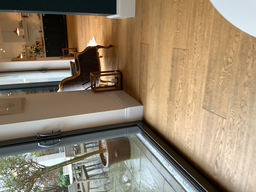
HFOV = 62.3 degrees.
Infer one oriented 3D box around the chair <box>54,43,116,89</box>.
[{"bbox_3d":[-0.720,-0.470,3.430,0.610,0.830,0.590,167,96,-68],"label":"chair"}]
